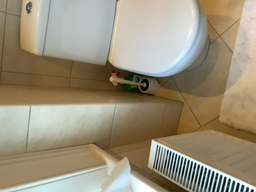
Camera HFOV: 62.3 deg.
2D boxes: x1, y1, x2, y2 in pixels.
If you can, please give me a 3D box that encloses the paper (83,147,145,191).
[{"bbox_3d":[-0.040,0.230,0.620,0.100,0.130,0.110,20,103,45],"label":"paper"}]
